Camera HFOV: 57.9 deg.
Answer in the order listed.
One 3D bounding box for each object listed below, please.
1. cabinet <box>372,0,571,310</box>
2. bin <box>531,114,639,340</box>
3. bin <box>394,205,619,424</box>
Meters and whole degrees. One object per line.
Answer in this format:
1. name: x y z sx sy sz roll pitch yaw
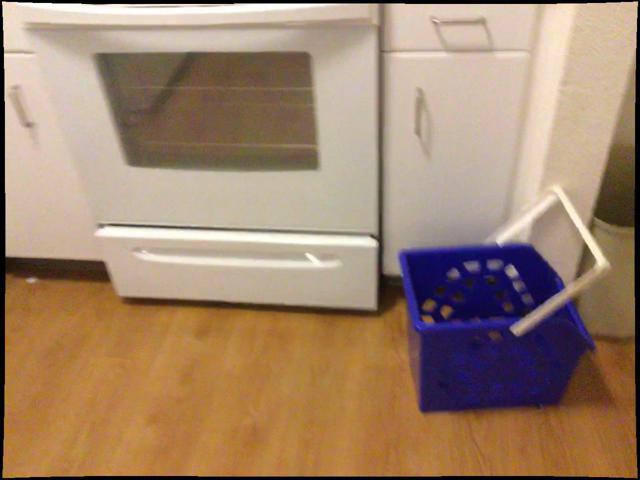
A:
1. cabinet: 0.310 -0.180 1.380 0.360 0.860 0.120 3 41 8
2. bin: 0.769 -0.040 1.530 0.280 0.420 0.420 3 41 8
3. bin: 0.400 0.170 1.380 0.420 0.360 0.340 3 41 8
